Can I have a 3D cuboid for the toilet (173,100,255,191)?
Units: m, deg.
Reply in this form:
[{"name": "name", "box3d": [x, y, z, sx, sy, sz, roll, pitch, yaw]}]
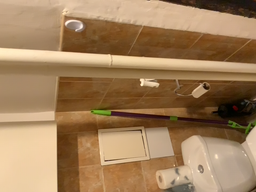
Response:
[{"name": "toilet", "box3d": [0.800, 0.330, 1.200, 0.740, 0.720, 0.400, 127, 138, -57]}]
